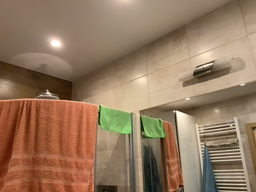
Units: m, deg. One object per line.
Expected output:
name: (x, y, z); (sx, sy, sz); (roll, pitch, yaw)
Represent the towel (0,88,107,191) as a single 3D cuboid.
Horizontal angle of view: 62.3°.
towel: (-0.460, 0.430, 1.100); (0.670, 0.900, 0.210); (3, -20, -15)
